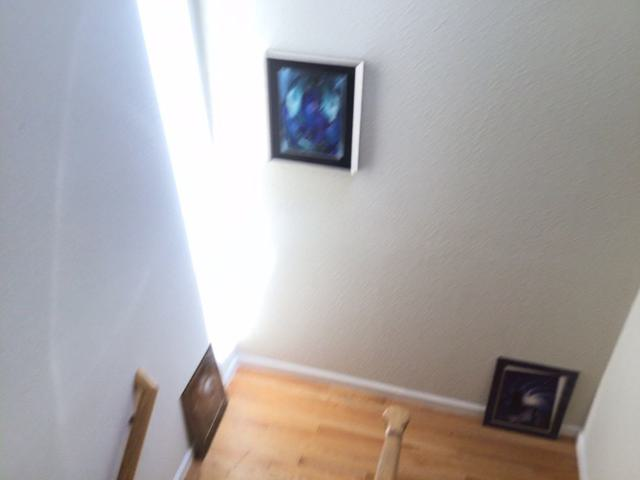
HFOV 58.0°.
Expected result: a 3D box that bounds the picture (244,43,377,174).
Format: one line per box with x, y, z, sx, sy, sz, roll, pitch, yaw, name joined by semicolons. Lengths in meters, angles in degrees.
-0.030;-0.550;2.520;0.500;0.560;0.060;2;37;17;picture
